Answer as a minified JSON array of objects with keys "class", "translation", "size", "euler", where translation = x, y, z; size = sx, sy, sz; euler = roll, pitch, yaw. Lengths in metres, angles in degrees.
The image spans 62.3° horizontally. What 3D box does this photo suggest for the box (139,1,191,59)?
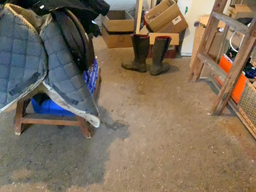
[{"class":"box","translation":[0.440,-0.850,2.740],"size":[0.510,0.610,0.380],"euler":[2,34,-5]}]
